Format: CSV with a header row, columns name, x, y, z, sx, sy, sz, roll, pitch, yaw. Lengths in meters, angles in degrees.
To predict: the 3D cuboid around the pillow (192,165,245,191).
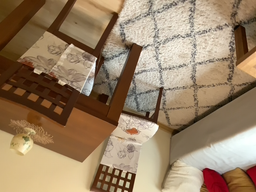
name,x,y,z,sx,sy,sz,roll,pitch,yaw
pillow,0.940,0.950,2.220,0.410,0.260,0.320,31,142,-19
